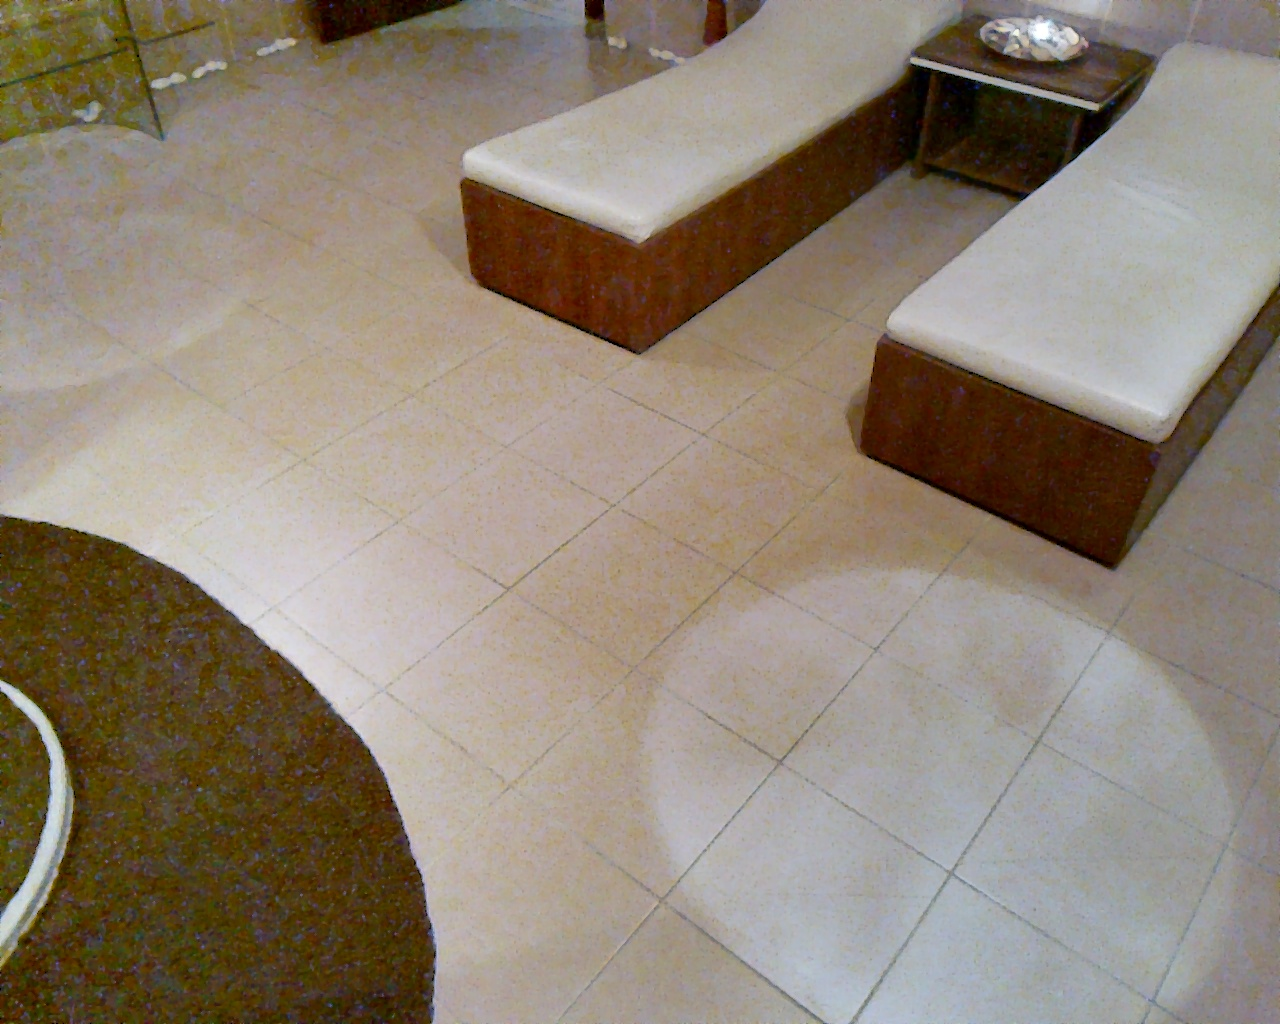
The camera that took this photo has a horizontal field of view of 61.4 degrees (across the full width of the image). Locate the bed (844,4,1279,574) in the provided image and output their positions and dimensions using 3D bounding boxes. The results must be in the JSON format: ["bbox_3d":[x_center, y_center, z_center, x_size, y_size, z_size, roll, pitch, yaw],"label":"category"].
[{"bbox_3d":[1.310,-0.700,2.750,0.650,0.560,1.840,28,49,27],"label":"bed"}]

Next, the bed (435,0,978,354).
[{"bbox_3d":[0.300,-1.240,3.340,0.670,0.540,1.830,28,49,27],"label":"bed"}]
